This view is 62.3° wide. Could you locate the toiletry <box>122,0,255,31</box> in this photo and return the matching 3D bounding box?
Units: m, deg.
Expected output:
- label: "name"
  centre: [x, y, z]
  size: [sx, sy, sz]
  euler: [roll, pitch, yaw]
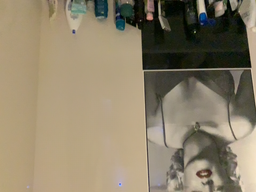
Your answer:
- label: "toiletry"
  centre: [0.560, -0.480, 1.190]
  size: [1.180, 0.170, 0.150]
  euler: [0, 170, -4]
